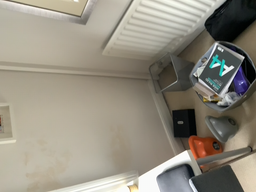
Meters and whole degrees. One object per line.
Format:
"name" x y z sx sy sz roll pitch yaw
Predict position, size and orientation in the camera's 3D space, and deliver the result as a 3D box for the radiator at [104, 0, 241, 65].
"radiator" 0.470 -0.740 1.370 1.300 0.770 0.150 -50 51 40
